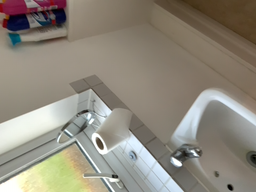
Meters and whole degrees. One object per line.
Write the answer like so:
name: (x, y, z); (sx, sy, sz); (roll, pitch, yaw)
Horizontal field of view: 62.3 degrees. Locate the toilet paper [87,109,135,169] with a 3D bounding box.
toilet paper: (-0.070, 0.160, 0.780); (0.120, 0.100, 0.160); (45, 141, 26)
